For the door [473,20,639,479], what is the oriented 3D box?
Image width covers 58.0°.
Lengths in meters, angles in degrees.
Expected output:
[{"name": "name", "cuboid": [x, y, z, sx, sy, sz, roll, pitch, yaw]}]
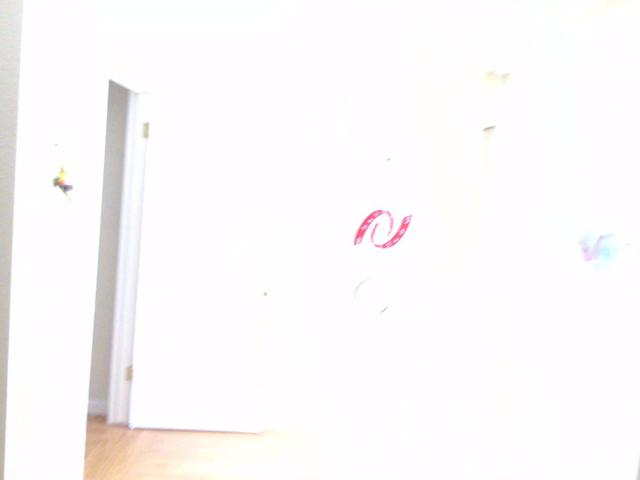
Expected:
[{"name": "door", "cuboid": [1.040, 0.370, 2.310, 0.380, 2.140, 0.900, 6, 4, -2]}]
